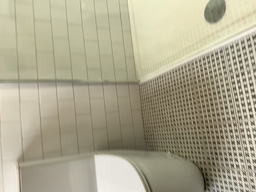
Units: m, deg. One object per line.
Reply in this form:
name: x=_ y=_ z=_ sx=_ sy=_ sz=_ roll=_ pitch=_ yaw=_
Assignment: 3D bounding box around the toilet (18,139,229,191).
toilet: x=-0.050 y=0.460 z=1.020 sx=0.610 sy=0.810 sz=0.380 roll=-20 pitch=75 yaw=59
